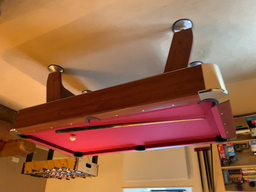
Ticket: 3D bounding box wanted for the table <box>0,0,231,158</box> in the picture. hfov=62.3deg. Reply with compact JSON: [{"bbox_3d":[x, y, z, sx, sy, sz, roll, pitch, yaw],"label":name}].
[{"bbox_3d":[-0.200,0.010,2.060,1.980,0.790,1.060,-13,149,24],"label":"table"}]
